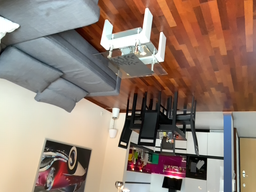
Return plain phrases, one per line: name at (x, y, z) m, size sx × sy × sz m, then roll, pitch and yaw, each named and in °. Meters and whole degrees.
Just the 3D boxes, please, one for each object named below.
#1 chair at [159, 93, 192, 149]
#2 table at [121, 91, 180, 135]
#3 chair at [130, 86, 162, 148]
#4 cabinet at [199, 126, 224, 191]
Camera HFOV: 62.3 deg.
chair at (0.940, 0.480, 4.120) m, size 0.500 × 0.990 × 0.350 m, roll -1°, pitch 159°, yaw 25°
table at (0.510, 0.380, 4.490) m, size 0.990 × 0.690 × 0.790 m, roll -1°, pitch 159°, yaw 26°
chair at (0.360, 0.400, 4.010) m, size 0.350 × 1.050 × 0.490 m, roll -1°, pitch 160°, yaw 24°
cabinet at (2.470, 2.010, 6.260) m, size 0.600 × 2.110 × 0.640 m, roll -2°, pitch 159°, yaw 27°
